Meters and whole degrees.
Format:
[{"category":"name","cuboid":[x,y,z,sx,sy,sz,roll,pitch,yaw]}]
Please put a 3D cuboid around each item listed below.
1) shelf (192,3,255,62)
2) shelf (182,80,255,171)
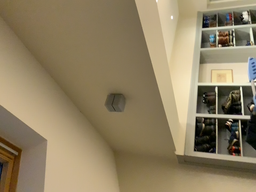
[{"category":"shelf","cuboid":[2.410,-1.260,4.080,0.340,2.190,1.270,66,-148,-49]},{"category":"shelf","cuboid":[1.950,0.370,2.960,0.330,2.190,1.300,66,-148,-49]}]
